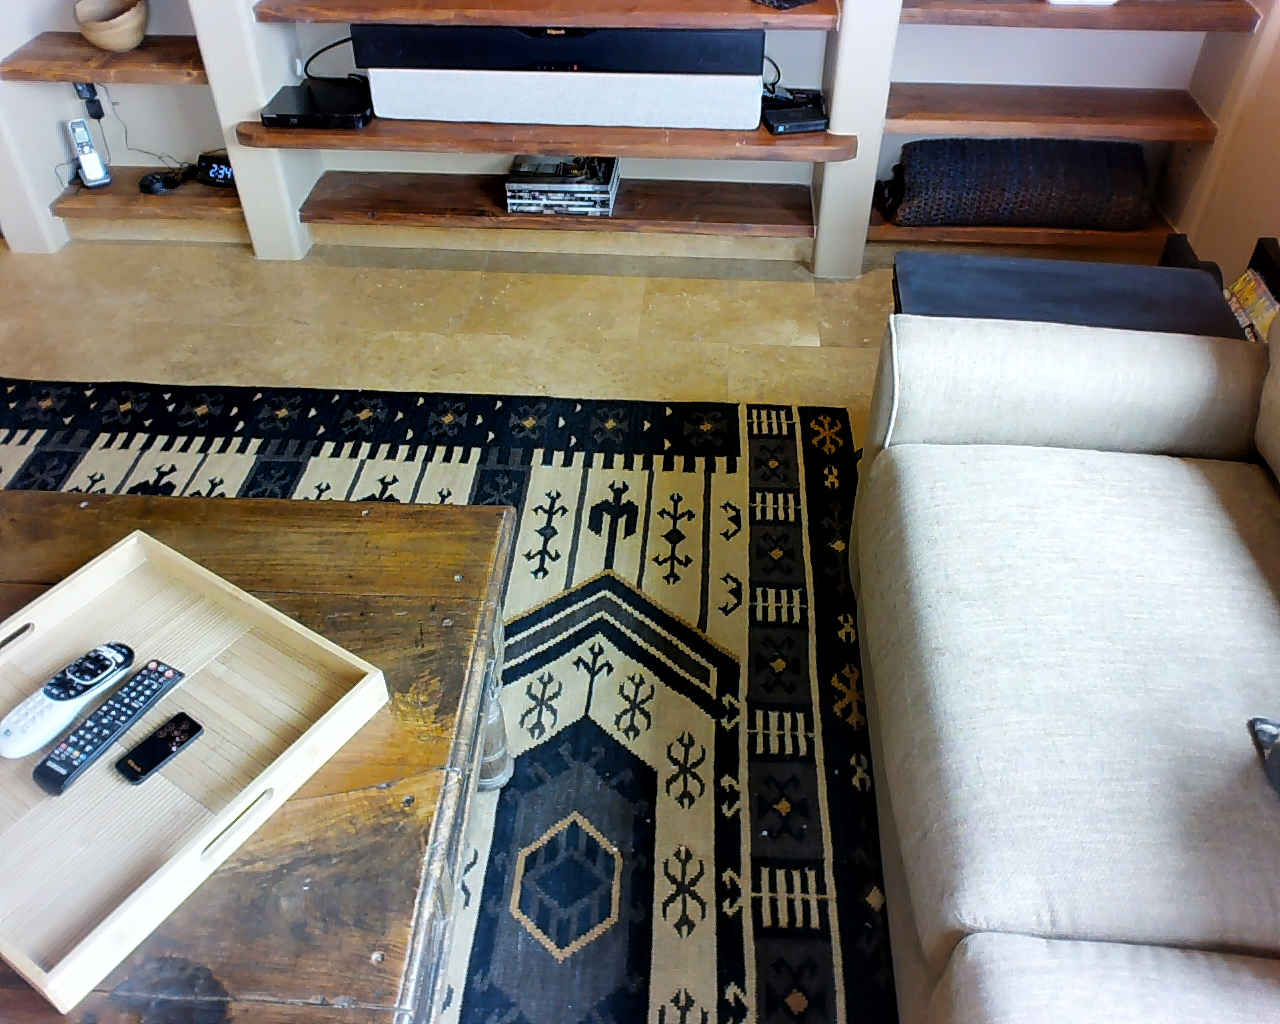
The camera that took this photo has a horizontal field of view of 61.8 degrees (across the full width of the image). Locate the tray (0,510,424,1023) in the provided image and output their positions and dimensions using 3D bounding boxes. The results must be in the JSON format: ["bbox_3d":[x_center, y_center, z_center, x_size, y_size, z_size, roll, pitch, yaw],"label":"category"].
[{"bbox_3d":[-0.560,0.230,1.100,0.460,0.040,0.480,24,47,24],"label":"tray"}]
